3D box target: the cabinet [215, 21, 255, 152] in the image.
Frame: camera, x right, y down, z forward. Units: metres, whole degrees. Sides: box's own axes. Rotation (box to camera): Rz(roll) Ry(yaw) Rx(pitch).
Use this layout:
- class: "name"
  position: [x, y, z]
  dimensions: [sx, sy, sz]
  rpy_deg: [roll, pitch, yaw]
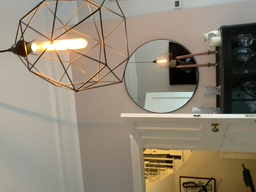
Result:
- class: "cabinet"
  position: [1.410, -0.090, 1.830]
  dimensions: [0.350, 1.170, 1.090]
  rpy_deg: [-35, -58, -72]

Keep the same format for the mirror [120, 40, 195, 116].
- class: "mirror"
  position: [0.320, -0.170, 2.330]
  dimensions: [0.030, 0.770, 0.800]
  rpy_deg: [-33, -60, -72]

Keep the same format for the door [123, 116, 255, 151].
- class: "door"
  position: [1.030, 0.350, 1.870]
  dimensions: [0.790, 2.020, 0.050]
  rpy_deg: [62, -150, -58]
